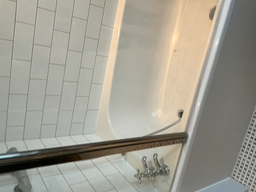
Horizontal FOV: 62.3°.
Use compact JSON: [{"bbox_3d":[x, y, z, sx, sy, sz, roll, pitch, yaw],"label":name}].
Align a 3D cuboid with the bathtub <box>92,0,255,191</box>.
[{"bbox_3d":[0.410,-0.530,1.290,0.800,0.620,1.920,27,109,48],"label":"bathtub"}]
